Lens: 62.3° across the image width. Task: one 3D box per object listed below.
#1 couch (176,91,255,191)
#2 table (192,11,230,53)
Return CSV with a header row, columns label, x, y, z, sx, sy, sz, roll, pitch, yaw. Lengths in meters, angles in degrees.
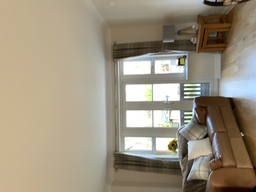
label,x,y,z,sx,sy,sz,roll,pitch,yaw
couch,1.250,0.830,3.290,1.580,0.830,0.980,-83,-11,-46
table,1.440,-1.120,3.760,0.550,0.490,0.410,81,-169,-47
